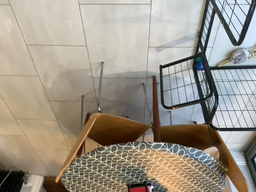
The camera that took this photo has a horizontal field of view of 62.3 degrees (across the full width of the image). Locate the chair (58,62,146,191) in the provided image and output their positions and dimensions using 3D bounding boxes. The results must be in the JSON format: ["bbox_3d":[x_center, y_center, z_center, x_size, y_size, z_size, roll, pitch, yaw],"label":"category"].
[{"bbox_3d":[-0.150,0.220,1.590,0.420,0.850,0.360,25,131,-21],"label":"chair"}]
